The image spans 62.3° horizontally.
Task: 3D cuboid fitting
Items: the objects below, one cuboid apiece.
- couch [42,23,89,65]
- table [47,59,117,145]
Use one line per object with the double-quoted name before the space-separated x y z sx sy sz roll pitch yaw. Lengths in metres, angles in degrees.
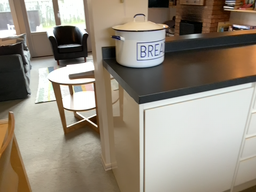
"couch" -1.370 -1.170 4.660 0.810 0.700 0.760 -11 27 -20
"table" -0.480 0.020 2.200 0.570 0.620 0.580 -9 26 -16
